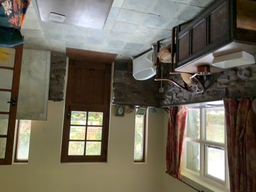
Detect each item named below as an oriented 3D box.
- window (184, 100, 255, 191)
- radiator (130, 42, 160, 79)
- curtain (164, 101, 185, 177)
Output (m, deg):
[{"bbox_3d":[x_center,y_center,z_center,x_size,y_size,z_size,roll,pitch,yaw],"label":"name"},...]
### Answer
[{"bbox_3d":[1.310,0.710,3.070,0.160,1.210,1.610,4,174,-15],"label":"window"},{"bbox_3d":[0.270,-0.580,3.630,0.130,0.450,0.750,6,174,-26],"label":"radiator"},{"bbox_3d":[0.840,0.750,3.820,0.220,1.280,0.330,4,174,-13],"label":"curtain"}]
